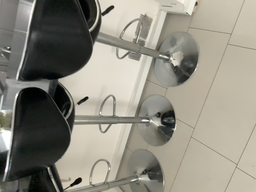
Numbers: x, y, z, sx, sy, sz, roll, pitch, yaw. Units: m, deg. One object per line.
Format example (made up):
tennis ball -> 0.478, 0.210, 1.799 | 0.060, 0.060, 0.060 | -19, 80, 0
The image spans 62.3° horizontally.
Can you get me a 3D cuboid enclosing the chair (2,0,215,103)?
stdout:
chair -> -0.030, -0.260, 1.220 | 0.430, 1.100, 0.420 | 29, 107, 46
